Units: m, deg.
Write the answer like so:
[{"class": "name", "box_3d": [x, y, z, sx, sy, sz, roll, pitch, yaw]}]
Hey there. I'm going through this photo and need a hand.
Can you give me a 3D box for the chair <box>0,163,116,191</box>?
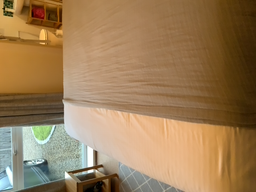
[{"class": "chair", "box_3d": [-0.840, 1.090, 2.150, 0.440, 1.400, 0.450, 0, 91, 56]}]
